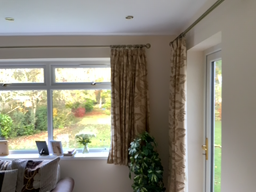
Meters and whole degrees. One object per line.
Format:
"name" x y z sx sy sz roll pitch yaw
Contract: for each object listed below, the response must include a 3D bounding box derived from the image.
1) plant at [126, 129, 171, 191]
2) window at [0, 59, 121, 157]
"plant" 0.230 1.020 2.640 0.510 1.130 0.510 0 3 0
"window" -1.860 0.180 3.040 3.520 1.400 0.040 0 3 0
